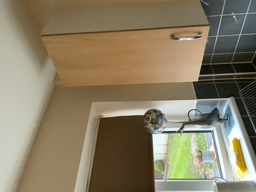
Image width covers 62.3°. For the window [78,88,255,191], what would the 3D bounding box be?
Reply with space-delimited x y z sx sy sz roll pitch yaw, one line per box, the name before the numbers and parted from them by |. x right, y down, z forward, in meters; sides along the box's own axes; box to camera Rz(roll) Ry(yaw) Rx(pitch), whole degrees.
window | 0.250 0.460 1.310 0.120 1.060 1.180 81 -172 -51
